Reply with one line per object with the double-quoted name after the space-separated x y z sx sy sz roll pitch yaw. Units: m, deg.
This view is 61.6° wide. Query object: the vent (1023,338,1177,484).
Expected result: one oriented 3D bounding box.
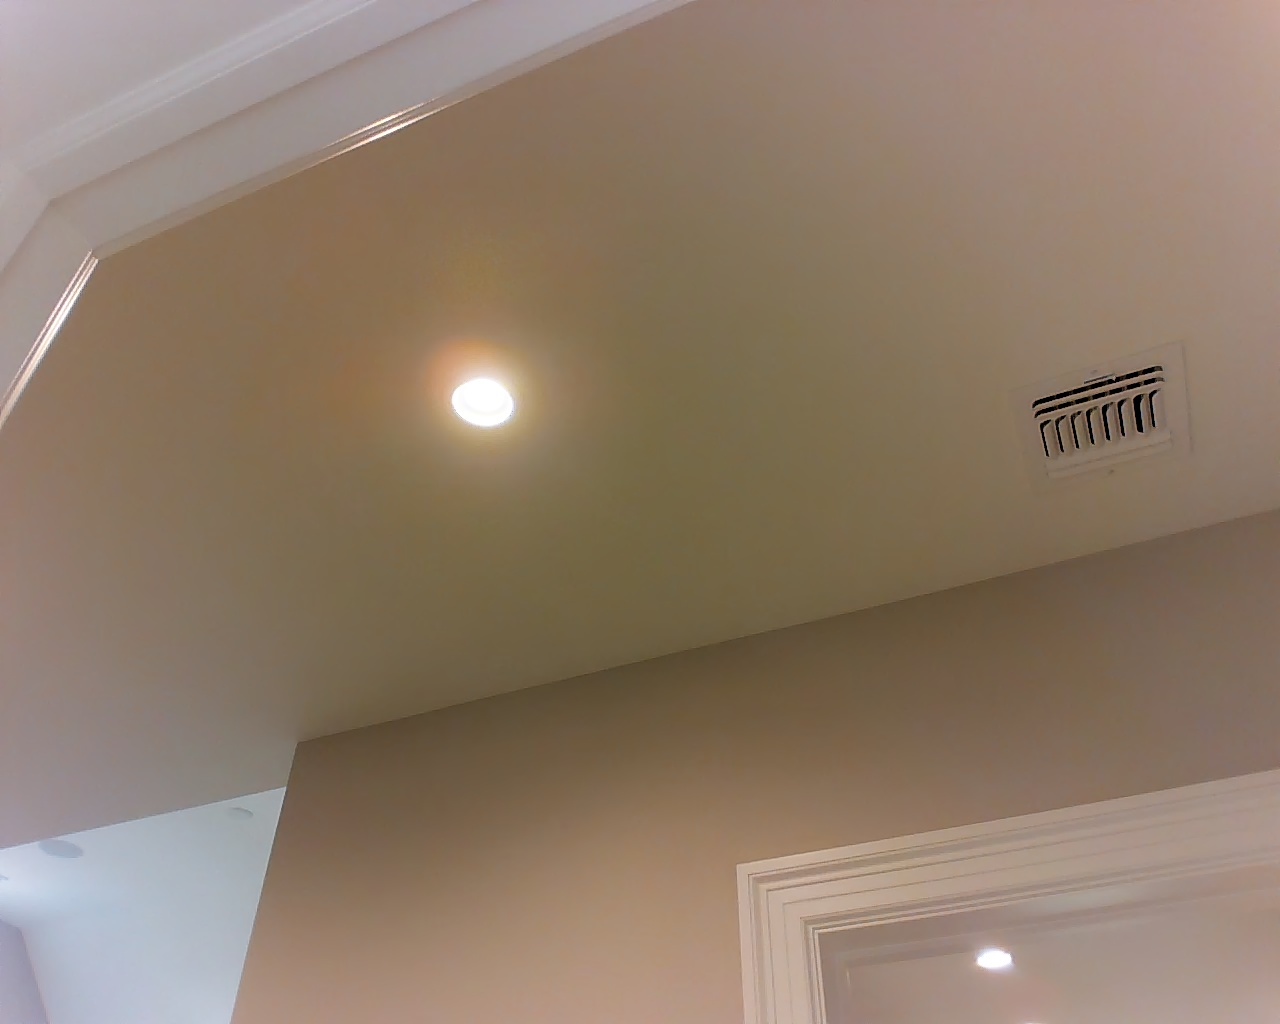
0.720 -0.150 1.670 0.200 0.010 0.240 -16 -45 18 "vent"
